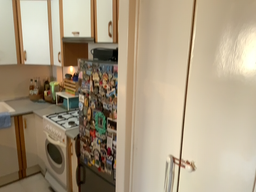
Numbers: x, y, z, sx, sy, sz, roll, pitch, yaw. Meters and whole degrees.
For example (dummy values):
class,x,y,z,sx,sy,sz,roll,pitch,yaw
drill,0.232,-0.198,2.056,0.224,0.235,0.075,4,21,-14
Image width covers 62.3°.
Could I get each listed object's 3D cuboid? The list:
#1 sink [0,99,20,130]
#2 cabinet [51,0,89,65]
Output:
class,x,y,z,sx,sy,sz,roll,pitch,yaw
sink,-1.500,0.210,2.340,0.410,0.190,0.490,-11,18,-42
cabinet,-0.640,-0.720,2.370,0.310,0.710,0.250,-11,18,-42
